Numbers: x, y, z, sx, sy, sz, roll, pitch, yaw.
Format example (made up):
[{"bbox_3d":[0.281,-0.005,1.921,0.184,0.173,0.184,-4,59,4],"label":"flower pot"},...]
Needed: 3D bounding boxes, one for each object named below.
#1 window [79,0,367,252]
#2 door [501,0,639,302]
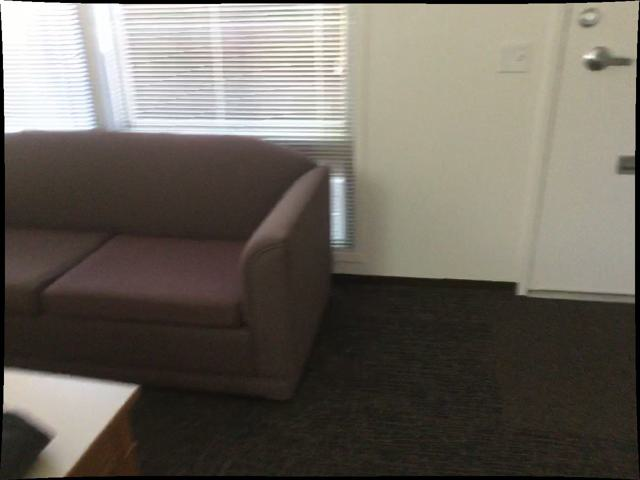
[{"bbox_3d":[-0.389,-0.962,2.510,1.148,2.013,0.410,2,26,9],"label":"window"},{"bbox_3d":[1.298,-0.661,2.140,0.998,2.033,0.080,2,26,9],"label":"door"}]
